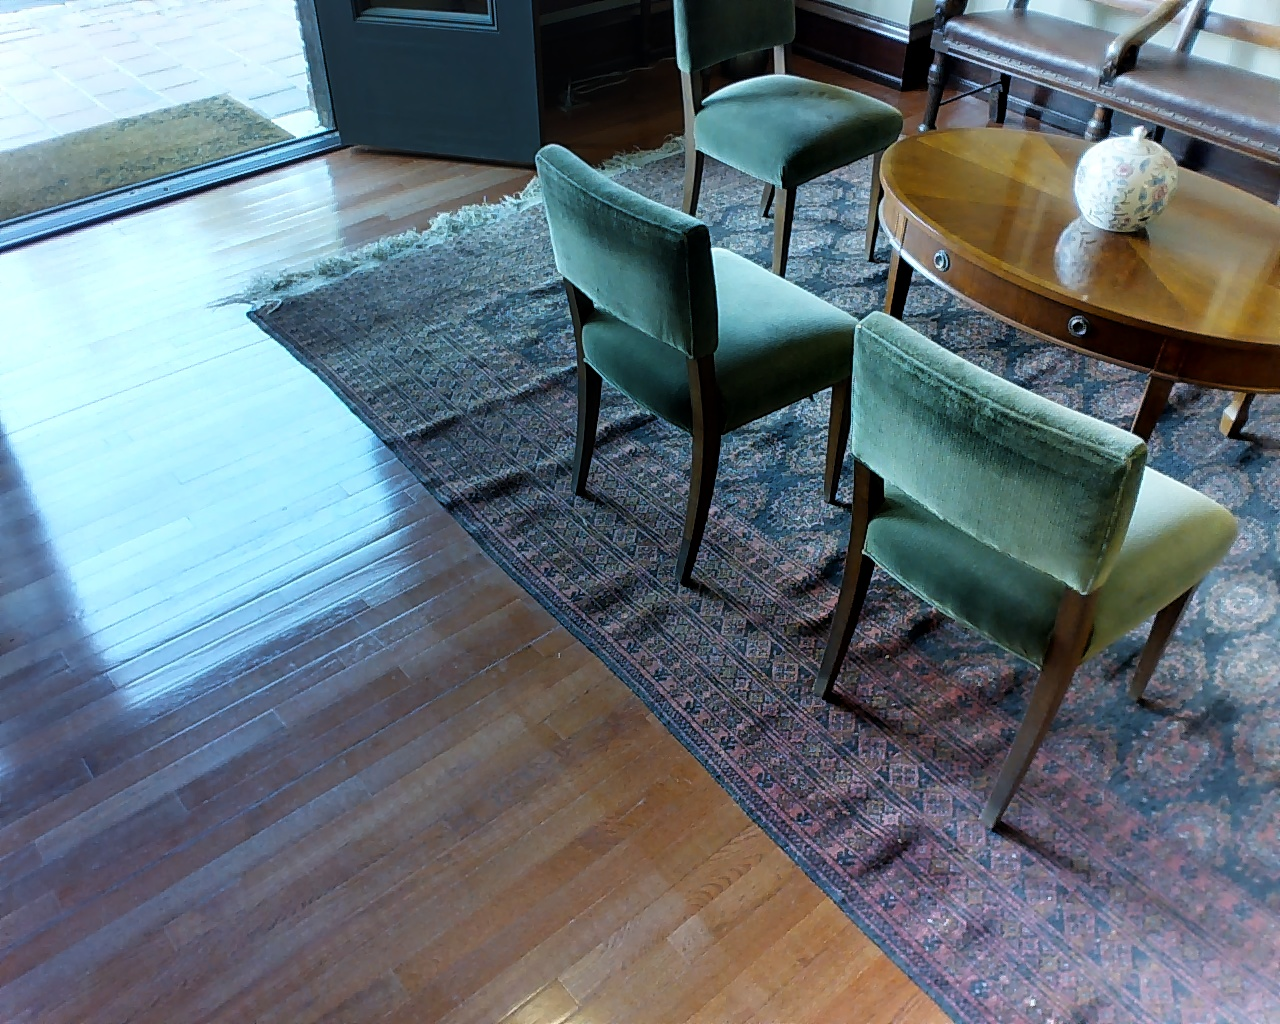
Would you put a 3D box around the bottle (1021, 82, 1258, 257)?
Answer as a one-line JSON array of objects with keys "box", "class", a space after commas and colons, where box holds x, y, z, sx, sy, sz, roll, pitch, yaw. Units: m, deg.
[{"box": [1.060, -0.740, 2.300, 0.340, 0.200, 0.260, 34, 51, 31], "class": "bottle"}]
